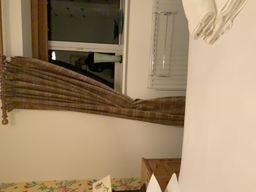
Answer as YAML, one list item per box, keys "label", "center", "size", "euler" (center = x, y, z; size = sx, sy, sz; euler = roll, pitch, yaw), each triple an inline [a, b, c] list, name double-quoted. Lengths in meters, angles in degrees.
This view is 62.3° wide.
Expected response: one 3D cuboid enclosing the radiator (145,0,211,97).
- label: "radiator"
  center: [0.510, -0.490, 2.190]
  size: [0.070, 0.600, 0.980]
  euler: [-133, 46, -77]
